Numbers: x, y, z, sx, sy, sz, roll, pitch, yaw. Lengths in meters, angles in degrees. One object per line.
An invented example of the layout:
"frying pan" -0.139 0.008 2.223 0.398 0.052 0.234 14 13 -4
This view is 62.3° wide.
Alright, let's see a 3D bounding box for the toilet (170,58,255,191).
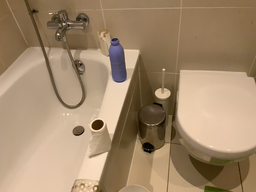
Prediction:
"toilet" 0.460 0.170 1.170 0.400 0.500 0.570 4 45 11
